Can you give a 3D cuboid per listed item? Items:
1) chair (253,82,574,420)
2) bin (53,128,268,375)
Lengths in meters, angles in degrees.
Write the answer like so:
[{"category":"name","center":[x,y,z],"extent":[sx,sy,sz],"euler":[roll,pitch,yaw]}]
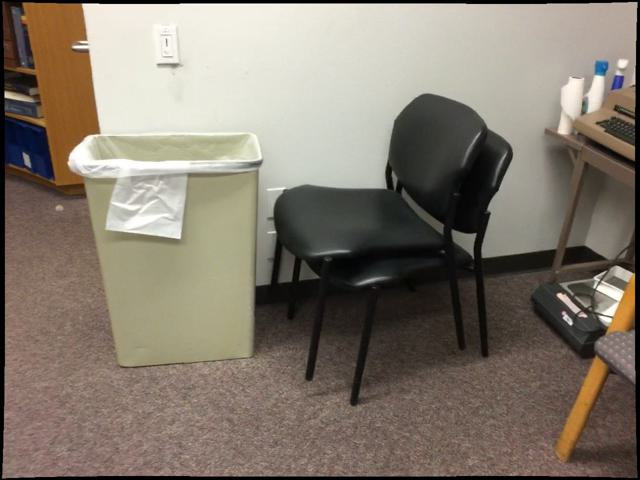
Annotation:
[{"category":"chair","center":[0.239,0.000,1.990],"extent":[0.798,0.882,0.590],"euler":[-9,32,-17]},{"category":"bin","center":[-0.469,0.040,1.890],"extent":[0.559,0.721,0.310],"euler":[-3,31,-8]}]
